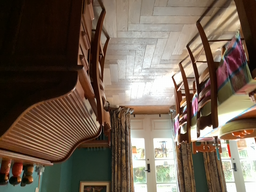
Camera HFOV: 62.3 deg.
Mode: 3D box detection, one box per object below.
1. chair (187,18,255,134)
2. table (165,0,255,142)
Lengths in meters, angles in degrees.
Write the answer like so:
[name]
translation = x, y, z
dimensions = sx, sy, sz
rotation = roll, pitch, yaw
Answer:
[chair]
translation = 0.840, -0.160, 1.870
dimensions = 0.430, 0.900, 0.450
rotation = -1, 159, 0
[table]
translation = 1.060, -0.090, 2.240
dimensions = 0.860, 0.780, 2.240
rotation = -1, 159, -2
